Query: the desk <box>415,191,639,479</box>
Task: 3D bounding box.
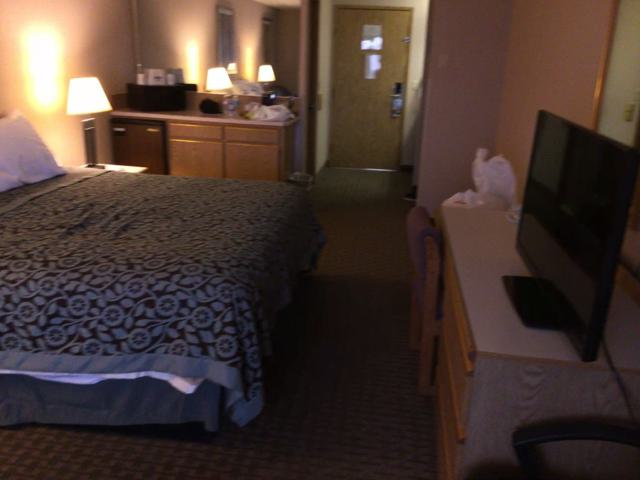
[{"bbox_3d":[0.770,0.400,2.290,0.660,0.810,1.580,5,18,6],"label":"desk"}]
